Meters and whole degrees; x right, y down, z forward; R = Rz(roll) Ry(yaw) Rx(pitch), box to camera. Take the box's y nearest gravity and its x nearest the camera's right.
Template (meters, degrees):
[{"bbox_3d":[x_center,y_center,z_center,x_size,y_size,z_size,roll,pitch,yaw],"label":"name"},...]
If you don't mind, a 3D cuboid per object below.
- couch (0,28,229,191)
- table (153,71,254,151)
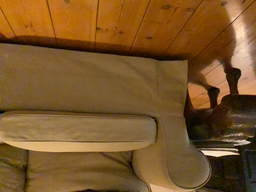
[{"bbox_3d":[-0.630,0.250,1.180,1.910,0.810,0.960,3,163,-10],"label":"couch"},{"bbox_3d":[0.440,0.130,1.400,0.470,0.440,0.420,1,163,-3],"label":"table"}]
